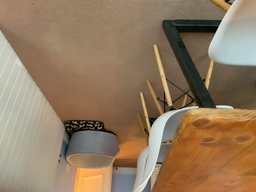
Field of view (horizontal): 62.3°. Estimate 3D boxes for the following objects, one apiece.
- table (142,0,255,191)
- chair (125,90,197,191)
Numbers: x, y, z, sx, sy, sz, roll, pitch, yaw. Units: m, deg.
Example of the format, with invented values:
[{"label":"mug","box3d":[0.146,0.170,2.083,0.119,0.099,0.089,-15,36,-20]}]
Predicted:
[{"label":"table","box3d":[0.610,0.240,1.470,0.930,0.790,1.770,1,148,1]},{"label":"chair","box3d":[0.220,0.420,1.750,0.460,0.820,0.440,2,148,-1]}]
